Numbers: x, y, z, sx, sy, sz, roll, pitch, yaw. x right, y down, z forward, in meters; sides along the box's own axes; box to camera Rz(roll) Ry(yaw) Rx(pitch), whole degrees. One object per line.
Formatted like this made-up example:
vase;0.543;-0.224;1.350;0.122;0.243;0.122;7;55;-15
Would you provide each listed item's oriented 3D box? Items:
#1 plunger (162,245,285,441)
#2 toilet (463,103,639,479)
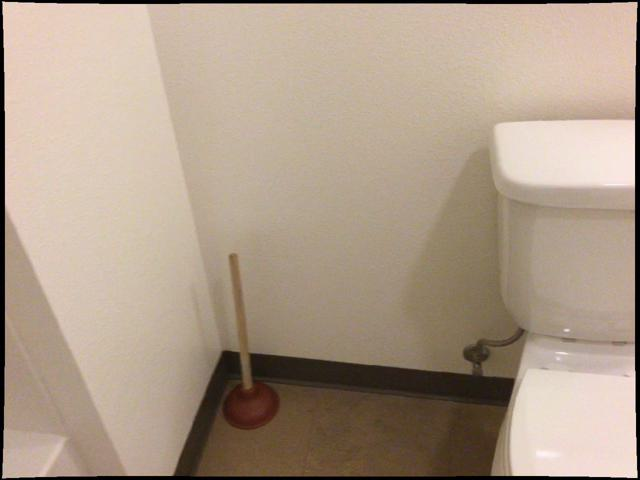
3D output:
plunger;-0.219;0.271;1.440;0.170;0.511;0.170;3;38;11
toilet;0.469;0.201;0.890;0.439;0.531;0.761;3;38;11
